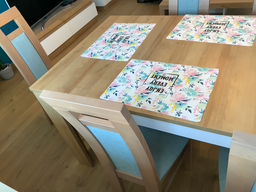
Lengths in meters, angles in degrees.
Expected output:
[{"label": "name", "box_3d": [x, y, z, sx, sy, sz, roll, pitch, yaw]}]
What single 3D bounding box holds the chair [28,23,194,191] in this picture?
[{"label": "chair", "box_3d": [0.060, 0.210, 1.100, 0.440, 0.980, 0.520, 8, 46, 24]}]
